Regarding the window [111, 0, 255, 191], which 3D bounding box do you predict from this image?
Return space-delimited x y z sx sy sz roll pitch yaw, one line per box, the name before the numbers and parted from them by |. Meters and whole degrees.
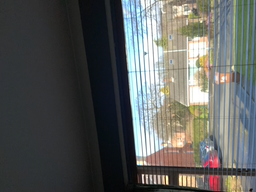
window | 0.680 -0.230 2.080 0.190 1.550 2.870 -56 -38 -71
